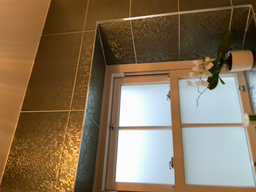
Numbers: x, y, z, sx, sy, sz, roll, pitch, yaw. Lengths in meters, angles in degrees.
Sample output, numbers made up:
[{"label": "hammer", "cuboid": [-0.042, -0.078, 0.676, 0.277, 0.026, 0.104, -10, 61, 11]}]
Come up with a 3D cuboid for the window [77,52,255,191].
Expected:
[{"label": "window", "cuboid": [0.280, 0.170, 1.490, 0.120, 1.160, 0.970, 66, -156, -64]}]
